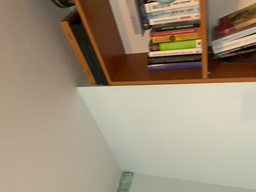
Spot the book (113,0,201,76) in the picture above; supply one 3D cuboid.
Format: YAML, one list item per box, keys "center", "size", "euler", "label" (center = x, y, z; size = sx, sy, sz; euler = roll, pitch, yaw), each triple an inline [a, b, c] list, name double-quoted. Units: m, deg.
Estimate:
- center: [0.120, -0.390, 0.840]
  size: [0.230, 0.280, 0.590]
  euler: [-68, -31, -43]
  label: "book"
